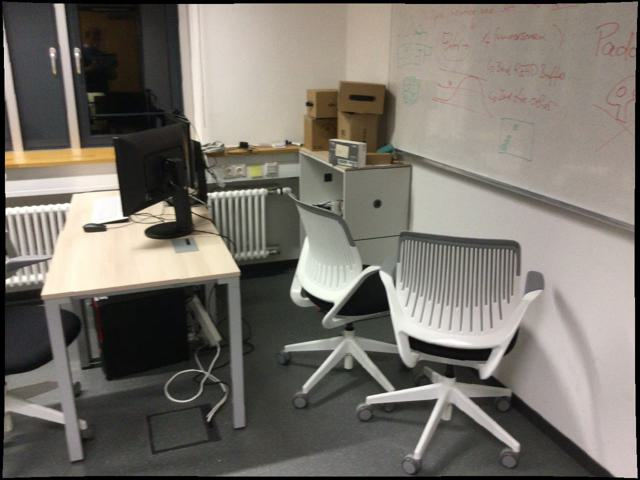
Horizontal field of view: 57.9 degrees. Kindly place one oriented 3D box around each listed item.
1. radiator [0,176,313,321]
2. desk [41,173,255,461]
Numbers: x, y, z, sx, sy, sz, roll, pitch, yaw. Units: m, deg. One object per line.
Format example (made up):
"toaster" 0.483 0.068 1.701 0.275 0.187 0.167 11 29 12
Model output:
"radiator" -1.029 0.020 3.660 1.958 0.621 0.270 -8 20 -16
"desk" -0.859 0.210 2.960 0.699 0.711 1.680 -7 20 -15
